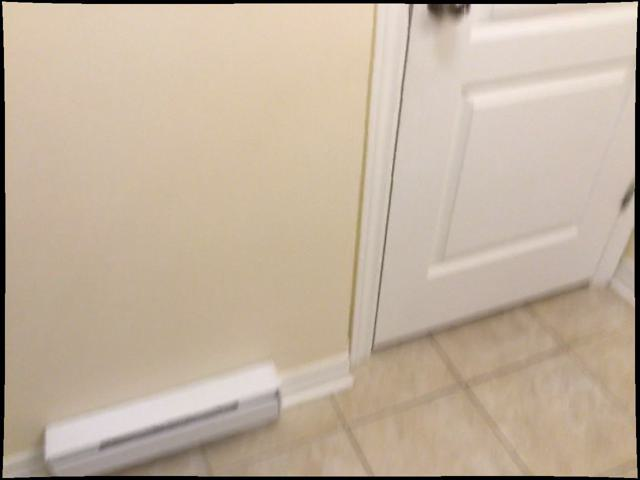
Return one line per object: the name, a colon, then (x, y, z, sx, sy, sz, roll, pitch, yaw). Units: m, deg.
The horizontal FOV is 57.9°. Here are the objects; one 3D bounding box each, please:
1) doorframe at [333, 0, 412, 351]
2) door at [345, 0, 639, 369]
doorframe: (0.100, -0.380, 1.010, 0.090, 1.611, 0.070, -14, 41, -18)
door: (0.549, -0.511, 1.160, 0.979, 1.831, 0.090, -14, 41, -18)
